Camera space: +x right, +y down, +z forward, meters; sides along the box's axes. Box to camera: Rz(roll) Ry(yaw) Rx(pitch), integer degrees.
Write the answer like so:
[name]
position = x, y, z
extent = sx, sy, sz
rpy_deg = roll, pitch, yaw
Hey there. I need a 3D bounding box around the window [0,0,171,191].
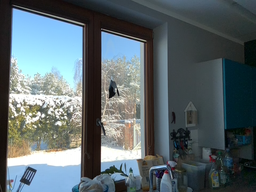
[window]
position = -0.290, 0.000, 1.710
extent = 1.420, 1.790, 0.350
rpy_deg = 2, -4, -35
